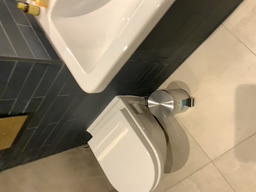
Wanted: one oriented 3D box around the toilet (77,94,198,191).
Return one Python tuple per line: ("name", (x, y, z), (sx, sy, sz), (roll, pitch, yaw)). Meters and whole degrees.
("toilet", (0.060, 0.320, 1.380), (0.390, 0.460, 0.520), (-48, 66, 29))
